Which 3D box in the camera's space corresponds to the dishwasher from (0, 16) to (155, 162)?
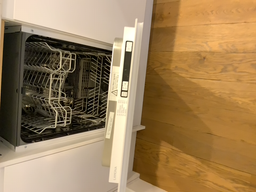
[{"bbox_3d":[-0.370,-0.070,1.130,0.600,0.900,0.440,12,99,36],"label":"dishwasher"}]
